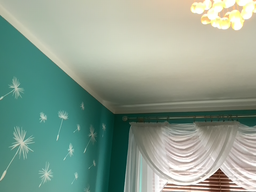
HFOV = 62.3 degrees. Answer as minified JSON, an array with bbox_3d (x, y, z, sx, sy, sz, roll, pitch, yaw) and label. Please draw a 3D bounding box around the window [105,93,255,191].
[{"bbox_3d":[0.800,0.890,1.850,2.020,1.840,0.270,-3,-23,14],"label":"window"}]
